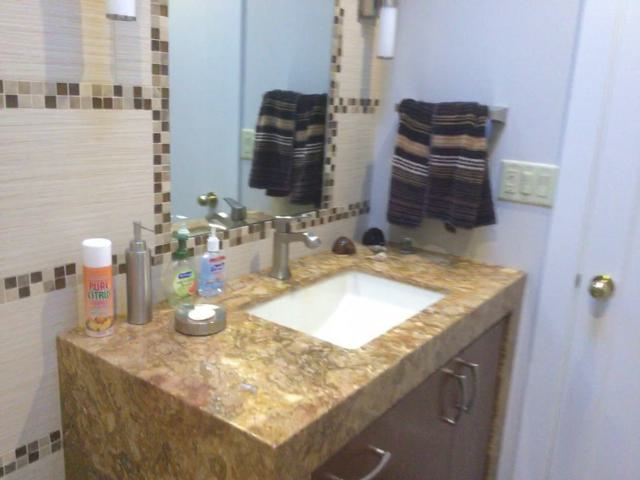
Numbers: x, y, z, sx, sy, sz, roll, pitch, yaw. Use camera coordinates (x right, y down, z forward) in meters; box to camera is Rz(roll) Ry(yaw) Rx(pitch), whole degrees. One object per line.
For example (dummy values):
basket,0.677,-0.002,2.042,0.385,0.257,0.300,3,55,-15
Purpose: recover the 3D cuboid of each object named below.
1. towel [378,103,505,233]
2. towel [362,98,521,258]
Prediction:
towel,0.350,-0.220,1.700,0.310,0.340,0.130,12,16,34
towel,0.350,-0.200,1.730,0.400,0.420,0.150,12,16,34
